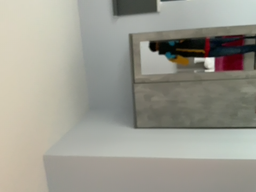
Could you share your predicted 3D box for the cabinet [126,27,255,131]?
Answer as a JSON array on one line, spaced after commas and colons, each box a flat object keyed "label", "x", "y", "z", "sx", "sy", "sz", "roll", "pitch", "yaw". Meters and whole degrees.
[{"label": "cabinet", "x": 0.960, "y": -0.170, "z": 1.790, "sx": 0.540, "sy": 1.850, "sz": 0.770, "roll": -63, "pitch": -29, "yaw": -73}]
